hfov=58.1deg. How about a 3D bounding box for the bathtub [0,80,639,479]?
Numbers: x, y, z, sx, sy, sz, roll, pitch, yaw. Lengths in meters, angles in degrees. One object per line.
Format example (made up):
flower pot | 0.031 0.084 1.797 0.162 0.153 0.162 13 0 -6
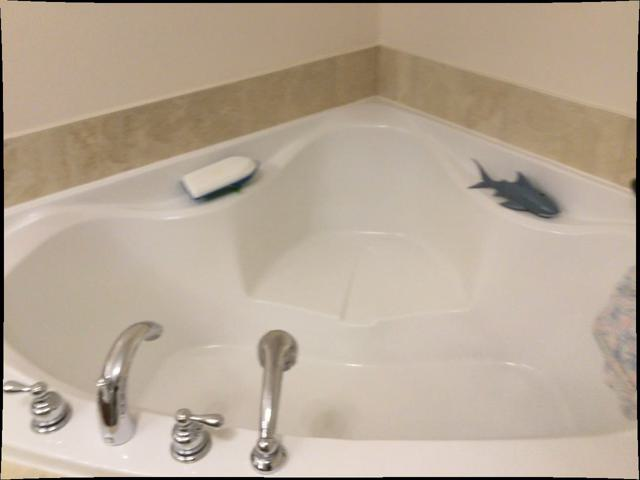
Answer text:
bathtub | 0.090 0.200 1.380 2.008 0.700 1.440 2 33 5

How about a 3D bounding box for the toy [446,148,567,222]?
toy | 0.480 -0.150 1.510 0.100 0.070 0.290 -25 40 -31
